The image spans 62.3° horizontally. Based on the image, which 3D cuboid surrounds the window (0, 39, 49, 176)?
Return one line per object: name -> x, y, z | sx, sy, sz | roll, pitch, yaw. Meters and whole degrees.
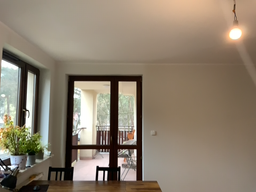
window -> -1.570, 0.180, 2.940 | 0.240, 1.560, 1.610 | 1, -5, 1
